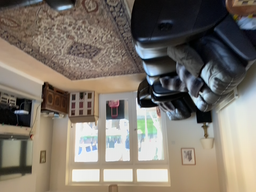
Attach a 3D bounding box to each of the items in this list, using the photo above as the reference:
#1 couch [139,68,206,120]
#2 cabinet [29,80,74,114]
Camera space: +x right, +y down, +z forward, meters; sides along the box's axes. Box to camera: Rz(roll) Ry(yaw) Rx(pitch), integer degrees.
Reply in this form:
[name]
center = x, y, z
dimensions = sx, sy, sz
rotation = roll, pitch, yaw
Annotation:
[couch]
center = 0.920, 0.000, 4.680
dimensions = 1.060, 0.930, 0.940
rotation = 1, 168, -17
[cabinet]
center = -1.860, 0.070, 5.310
dimensions = 0.540, 0.610, 1.040
rotation = -5, 166, 13
